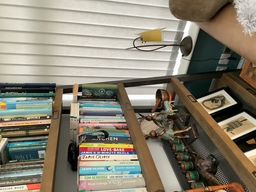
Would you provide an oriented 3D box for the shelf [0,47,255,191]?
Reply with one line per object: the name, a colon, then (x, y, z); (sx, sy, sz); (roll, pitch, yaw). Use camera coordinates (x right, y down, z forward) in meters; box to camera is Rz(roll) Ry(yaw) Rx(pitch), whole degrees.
shelf: (0.210, 0.230, 1.040); (1.270, 1.900, 0.430); (-113, 27, -56)
